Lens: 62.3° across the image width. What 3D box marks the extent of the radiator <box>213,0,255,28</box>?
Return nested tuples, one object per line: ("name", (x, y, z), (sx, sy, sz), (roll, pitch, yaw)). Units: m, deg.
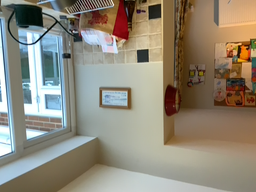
("radiator", (2.260, -1.560, 3.550), (1.520, 0.660, 0.120), (3, -172, 26))
